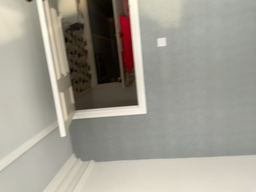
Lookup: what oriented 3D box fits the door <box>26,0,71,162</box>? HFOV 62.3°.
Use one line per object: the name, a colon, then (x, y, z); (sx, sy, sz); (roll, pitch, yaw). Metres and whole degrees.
door: (-0.760, -0.690, 1.920); (0.110, 2.330, 0.930); (-9, -168, -13)
